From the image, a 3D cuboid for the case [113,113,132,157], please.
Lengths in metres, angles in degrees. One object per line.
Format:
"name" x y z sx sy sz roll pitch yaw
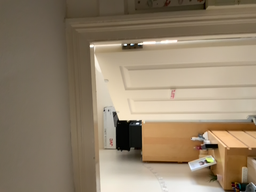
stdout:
"case" -0.080 0.630 3.570 0.580 0.240 0.620 -16 -74 -84
